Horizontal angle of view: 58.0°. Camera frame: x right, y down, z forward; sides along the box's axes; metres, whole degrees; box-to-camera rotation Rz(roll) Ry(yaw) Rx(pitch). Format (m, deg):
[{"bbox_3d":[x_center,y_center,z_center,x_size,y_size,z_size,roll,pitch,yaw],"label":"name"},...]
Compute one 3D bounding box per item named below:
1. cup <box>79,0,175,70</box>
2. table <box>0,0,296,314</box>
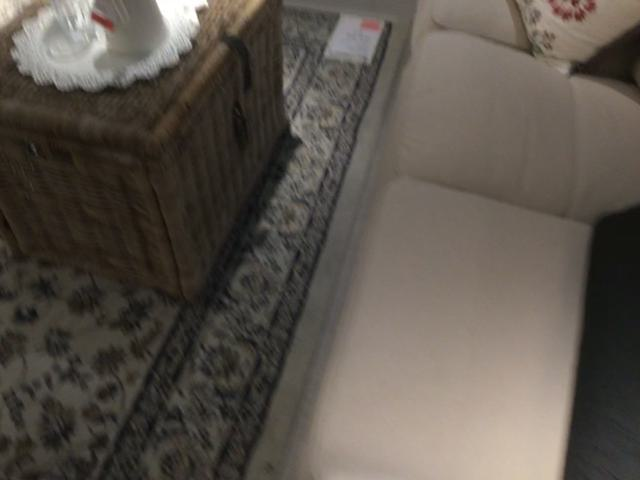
[{"bbox_3d":[-0.380,-0.470,1.130,0.110,0.210,0.130,14,52,9],"label":"cup"},{"bbox_3d":[-0.420,-0.320,1.440,0.520,0.520,0.730,14,52,9],"label":"table"}]
